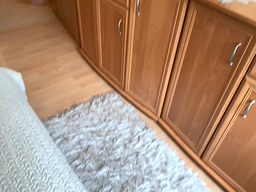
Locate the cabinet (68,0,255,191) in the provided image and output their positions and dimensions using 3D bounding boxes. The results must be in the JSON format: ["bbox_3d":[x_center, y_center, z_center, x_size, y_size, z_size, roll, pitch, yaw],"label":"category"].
[{"bbox_3d":[0.420,-0.220,1.430,0.530,0.990,2.470,-26,52,-29],"label":"cabinet"}]
